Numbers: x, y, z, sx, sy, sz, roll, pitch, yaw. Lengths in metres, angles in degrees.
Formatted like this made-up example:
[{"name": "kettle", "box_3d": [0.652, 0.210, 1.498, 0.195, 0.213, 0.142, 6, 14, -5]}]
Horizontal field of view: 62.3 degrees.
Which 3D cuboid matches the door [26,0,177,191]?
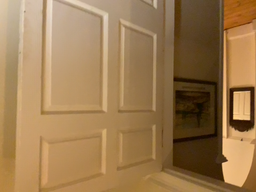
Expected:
[{"name": "door", "box_3d": [-0.030, -0.440, 1.370, 0.110, 1.900, 1.120, -1, 178, 44]}]
